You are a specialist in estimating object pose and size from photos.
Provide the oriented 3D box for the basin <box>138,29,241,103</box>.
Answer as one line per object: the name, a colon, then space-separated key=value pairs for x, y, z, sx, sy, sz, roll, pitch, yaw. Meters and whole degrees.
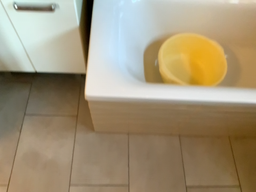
basin: x=0.340 y=-0.180 z=1.290 sx=0.530 sy=0.180 sz=0.370 roll=4 pitch=62 yaw=-4
